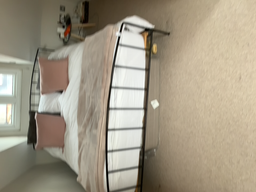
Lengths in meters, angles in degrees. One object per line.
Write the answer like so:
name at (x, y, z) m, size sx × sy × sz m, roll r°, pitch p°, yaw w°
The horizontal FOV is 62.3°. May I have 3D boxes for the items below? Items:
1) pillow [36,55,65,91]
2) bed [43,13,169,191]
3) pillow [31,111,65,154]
pillow at (-1.020, -0.300, 2.820) m, size 0.160 × 0.390 × 0.430 m, roll 5°, pitch 95°, yaw 15°
bed at (-0.540, 0.110, 2.770) m, size 2.330 × 0.570 × 1.610 m, roll 7°, pitch 94°, yaw 57°
pillow at (-1.060, 0.470, 2.850) m, size 0.190 × 0.390 × 0.470 m, roll 6°, pitch 95°, yaw 25°
